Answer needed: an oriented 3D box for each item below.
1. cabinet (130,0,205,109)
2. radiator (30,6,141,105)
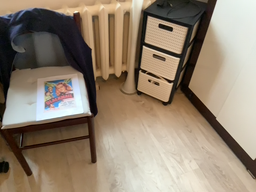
[{"bbox_3d":[0.270,-0.330,1.630,0.320,0.720,0.400,24,48,19],"label":"cabinet"},{"bbox_3d":[-0.290,-0.300,1.630,0.700,0.630,0.200,-14,47,-17],"label":"radiator"}]
